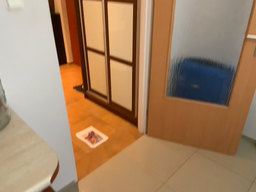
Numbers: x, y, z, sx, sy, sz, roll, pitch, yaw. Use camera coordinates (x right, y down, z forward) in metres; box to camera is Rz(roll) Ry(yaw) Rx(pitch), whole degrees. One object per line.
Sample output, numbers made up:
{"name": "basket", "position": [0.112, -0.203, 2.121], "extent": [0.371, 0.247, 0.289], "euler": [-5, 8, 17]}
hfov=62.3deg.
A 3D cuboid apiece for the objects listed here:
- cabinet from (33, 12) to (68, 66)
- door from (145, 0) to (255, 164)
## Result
{"name": "cabinet", "position": [-1.450, -1.080, 4.000], "extent": [0.530, 0.890, 0.250], "euler": [23, 35, 35]}
{"name": "door", "position": [0.600, -0.410, 1.620], "extent": [0.850, 2.030, 0.150], "euler": [12, 30, 21]}
